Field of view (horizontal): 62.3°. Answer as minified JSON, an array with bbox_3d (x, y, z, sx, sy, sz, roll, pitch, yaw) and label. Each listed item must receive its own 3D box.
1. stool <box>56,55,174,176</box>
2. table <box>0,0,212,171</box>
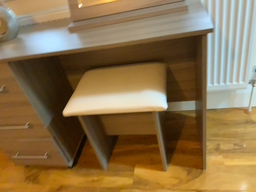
[{"bbox_3d":[-0.010,0.120,1.140,0.460,0.510,0.360,-4,37,13],"label":"stool"},{"bbox_3d":[-0.220,0.000,1.170,1.190,0.750,0.430,-4,37,13],"label":"table"}]
